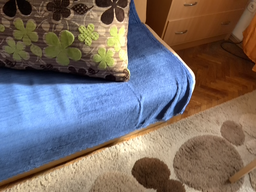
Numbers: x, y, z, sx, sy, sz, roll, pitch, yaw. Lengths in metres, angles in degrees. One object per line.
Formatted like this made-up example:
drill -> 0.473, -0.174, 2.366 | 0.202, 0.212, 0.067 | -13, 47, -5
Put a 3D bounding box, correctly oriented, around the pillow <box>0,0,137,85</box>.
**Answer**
pillow -> -0.320, -0.360, 0.830 | 0.600, 0.480, 0.320 | -10, 57, 11
